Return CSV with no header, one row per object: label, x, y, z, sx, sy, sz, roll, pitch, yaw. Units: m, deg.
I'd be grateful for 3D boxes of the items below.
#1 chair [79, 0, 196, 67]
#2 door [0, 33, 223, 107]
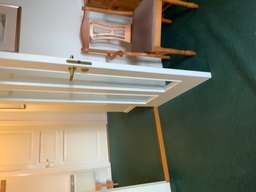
chair,0.060,-0.570,1.900,0.580,0.860,0.470,180,92,-67
door,-0.480,-0.100,1.660,1.060,2.140,0.170,150,119,-63
